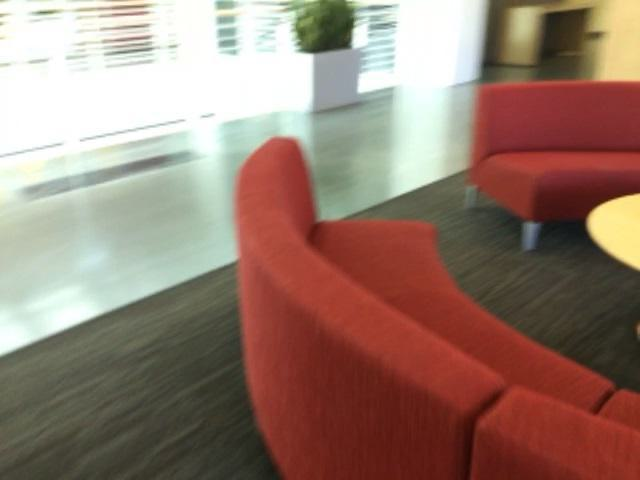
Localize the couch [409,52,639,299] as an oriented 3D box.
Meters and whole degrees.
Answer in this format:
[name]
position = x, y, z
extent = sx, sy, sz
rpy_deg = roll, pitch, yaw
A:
[couch]
position = 1.980, -0.260, 2.510
extent = 2.940, 0.810, 1.300
rpy_deg = 20, 33, 41
